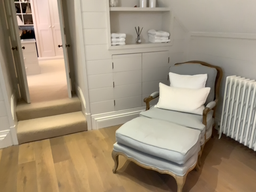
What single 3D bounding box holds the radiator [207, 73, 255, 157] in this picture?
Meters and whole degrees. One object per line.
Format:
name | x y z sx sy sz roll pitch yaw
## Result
radiator | 1.310 0.200 2.360 0.180 0.740 0.880 -8 20 -21
